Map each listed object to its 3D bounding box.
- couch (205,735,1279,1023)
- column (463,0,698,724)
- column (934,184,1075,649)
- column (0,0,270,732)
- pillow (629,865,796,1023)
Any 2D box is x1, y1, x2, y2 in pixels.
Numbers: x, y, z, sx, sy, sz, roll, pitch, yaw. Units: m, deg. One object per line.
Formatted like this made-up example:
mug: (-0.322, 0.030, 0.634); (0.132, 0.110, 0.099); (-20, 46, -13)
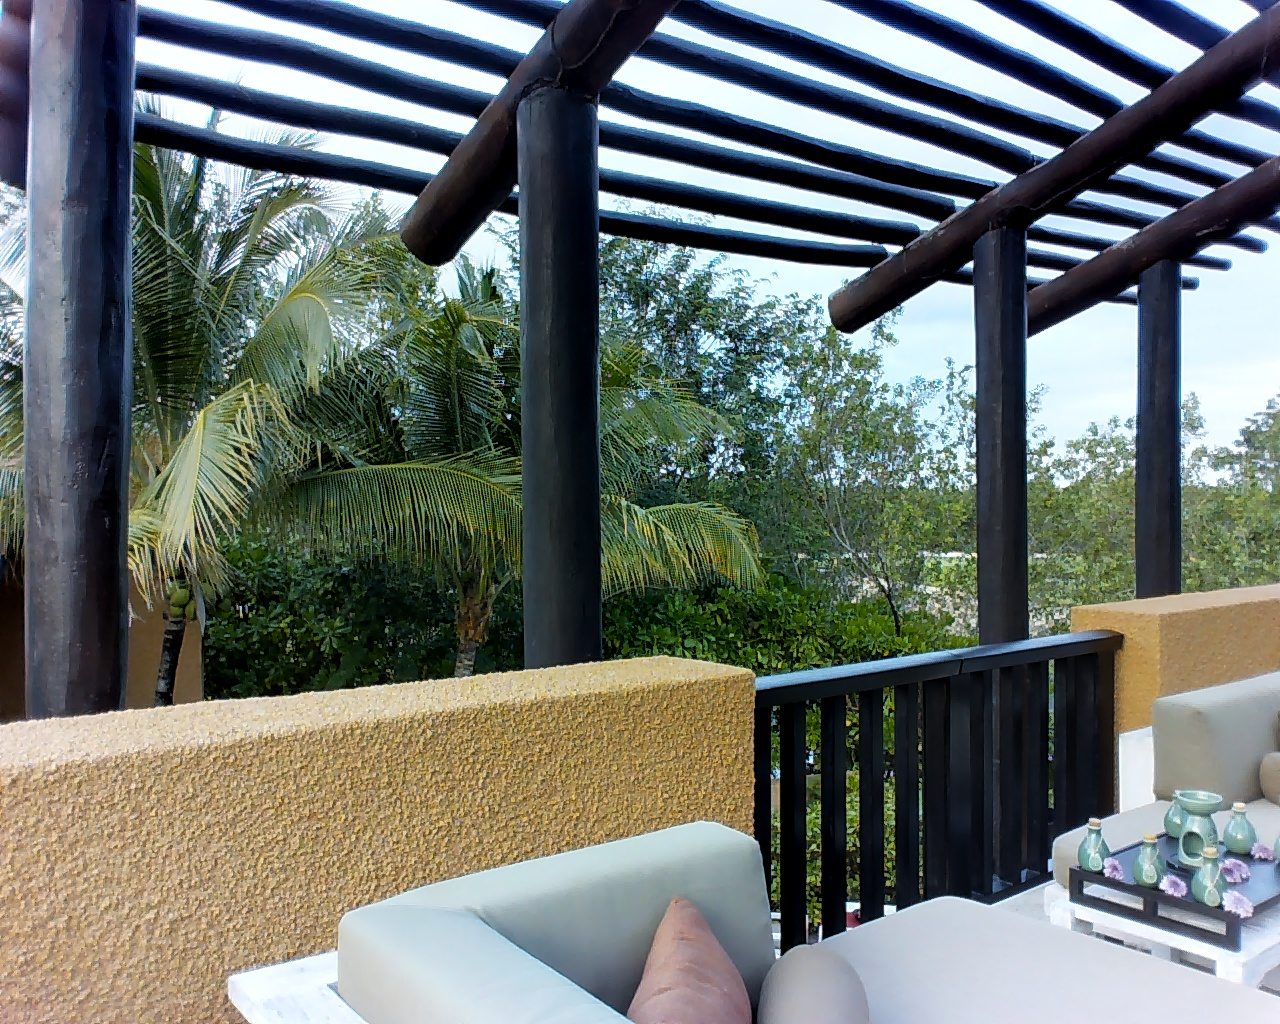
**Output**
couch: (0.430, 0.960, 1.710); (1.830, 0.770, 1.160); (-1, 1, -38)
column: (-0.170, -0.380, 2.960); (0.430, 1.791, 0.510); (-1, 1, -38)
column: (1.459, -0.360, 4.320); (0.330, 1.751, 0.420); (-1, 1, -38)
column: (-1.080, -0.440, 2.240); (0.460, 1.661, 0.470); (-1, 1, -35)
pillow: (0.120, 0.700, 1.550); (0.200, 0.200, 0.520); (0, 1, 7)
